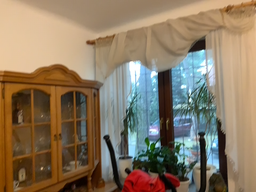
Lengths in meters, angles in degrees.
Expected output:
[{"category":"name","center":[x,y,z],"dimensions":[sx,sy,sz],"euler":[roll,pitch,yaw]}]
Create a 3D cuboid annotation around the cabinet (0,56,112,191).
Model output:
[{"category":"cabinet","center":[-0.770,0.380,1.990],"dimensions":[0.410,1.280,1.490],"euler":[-3,-2,32]}]
